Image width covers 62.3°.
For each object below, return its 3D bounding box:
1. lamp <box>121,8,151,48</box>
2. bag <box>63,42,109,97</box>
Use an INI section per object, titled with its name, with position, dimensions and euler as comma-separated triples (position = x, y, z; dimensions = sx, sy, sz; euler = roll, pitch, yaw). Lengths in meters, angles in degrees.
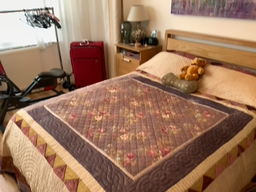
[lamp]
position = 0.110, -0.940, 2.900
dimensions = 0.290, 0.470, 0.260
euler = -22, 33, -37
[bag]
position = -0.600, -0.400, 3.200
dimensions = 0.550, 0.740, 0.370
euler = 0, 26, 1
